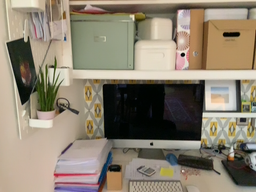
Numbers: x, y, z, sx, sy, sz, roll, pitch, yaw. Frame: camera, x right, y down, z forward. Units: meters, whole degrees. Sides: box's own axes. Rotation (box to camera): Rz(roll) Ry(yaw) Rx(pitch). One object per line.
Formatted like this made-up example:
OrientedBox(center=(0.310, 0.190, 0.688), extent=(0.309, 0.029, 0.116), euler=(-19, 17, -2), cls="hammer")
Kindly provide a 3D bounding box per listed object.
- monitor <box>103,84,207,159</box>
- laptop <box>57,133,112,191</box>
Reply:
OrientedBox(center=(0.170, 0.170, 1.440), extent=(0.670, 0.500, 0.060), euler=(1, 11, 4), cls="monitor")
OrientedBox(center=(-0.230, 0.370, 1.260), extent=(0.210, 0.150, 0.440), euler=(1, 11, 3), cls="laptop")
